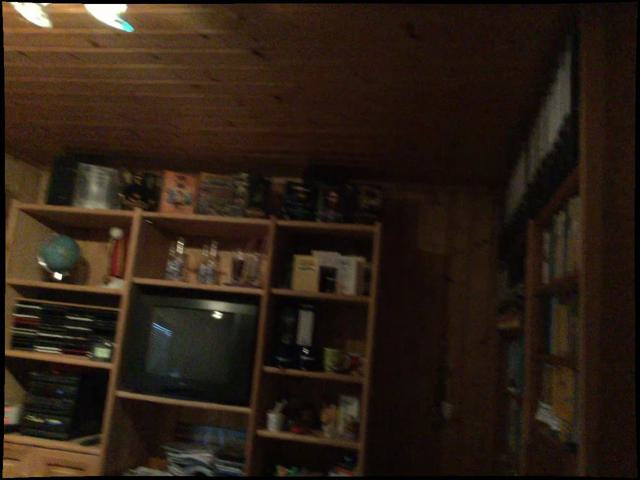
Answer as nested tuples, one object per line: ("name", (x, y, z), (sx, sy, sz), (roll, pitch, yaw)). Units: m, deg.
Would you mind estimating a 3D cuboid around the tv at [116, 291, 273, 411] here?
("tv", (-0.549, 0.480, 2.570), (0.629, 0.440, 0.200), (3, 1, 9))
